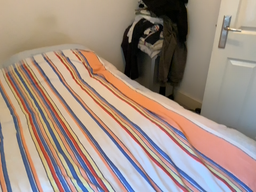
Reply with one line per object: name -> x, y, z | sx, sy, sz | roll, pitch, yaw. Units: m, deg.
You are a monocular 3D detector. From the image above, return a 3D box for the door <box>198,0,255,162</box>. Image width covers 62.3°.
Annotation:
door -> 0.930, -0.390, 1.310 | 0.670, 2.000, 0.070 | 15, 32, 26
